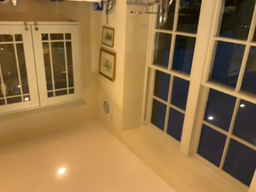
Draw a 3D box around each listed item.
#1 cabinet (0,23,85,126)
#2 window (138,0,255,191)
[{"bbox_3d":[-1.080,-0.280,2.420,1.090,1.010,0.340,-11,-154,-32],"label":"cabinet"},{"bbox_3d":[0.660,-0.120,1.960,0.130,1.790,1.610,-11,-154,-30],"label":"window"}]
